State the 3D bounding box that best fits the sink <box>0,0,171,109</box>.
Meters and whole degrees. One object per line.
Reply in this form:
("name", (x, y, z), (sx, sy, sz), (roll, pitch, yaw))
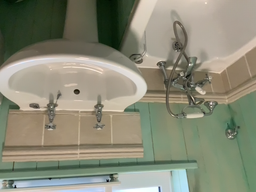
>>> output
("sink", (-0.190, -0.110, 0.840), (0.540, 0.180, 0.460), (2, 159, -16))
